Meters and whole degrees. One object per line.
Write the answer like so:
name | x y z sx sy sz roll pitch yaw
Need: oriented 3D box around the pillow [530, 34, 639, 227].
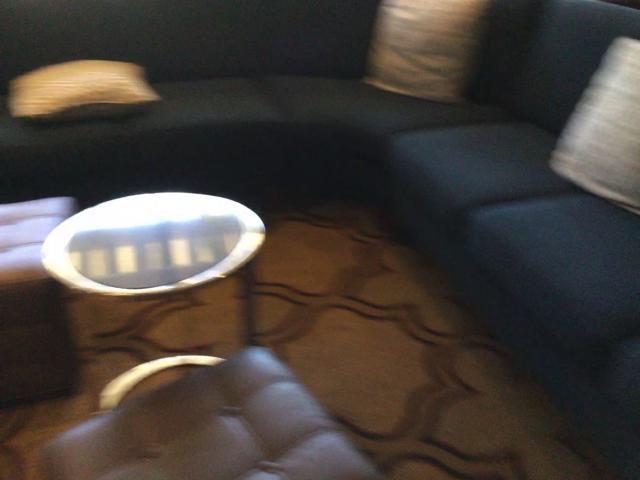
pillow | 0.970 -0.360 1.790 0.260 0.430 0.540 -8 31 -16

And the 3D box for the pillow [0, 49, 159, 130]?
pillow | -0.970 -0.640 2.390 0.530 0.170 0.520 -8 31 -16

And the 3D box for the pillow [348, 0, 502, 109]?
pillow | 0.460 -0.900 2.630 0.370 0.420 0.530 -24 39 -38

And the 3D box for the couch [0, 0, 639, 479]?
couch | 0.030 -0.150 1.730 2.680 1.080 3.030 -8 31 -16

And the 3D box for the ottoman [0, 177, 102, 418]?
ottoman | -0.950 0.160 1.690 0.520 0.470 0.520 -8 31 -16
